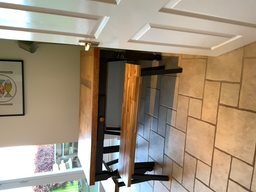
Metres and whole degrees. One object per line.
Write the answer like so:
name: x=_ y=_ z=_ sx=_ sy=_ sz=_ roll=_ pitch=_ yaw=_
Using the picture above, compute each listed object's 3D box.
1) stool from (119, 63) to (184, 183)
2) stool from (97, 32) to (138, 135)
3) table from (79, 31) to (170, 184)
stool: x=0.210 y=0.240 z=2.110 sx=0.330 sy=0.450 sz=1.090 roll=-155 pitch=66 yaw=-65
stool: x=-0.160 y=-0.170 z=3.000 sx=0.290 sy=0.440 sz=1.360 roll=-156 pitch=67 yaw=-65
table: x=-0.110 y=0.080 z=2.480 sx=0.770 sy=0.740 sz=1.470 roll=-155 pitch=66 yaw=-65
